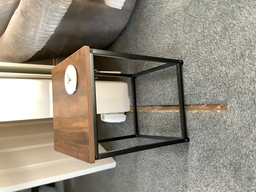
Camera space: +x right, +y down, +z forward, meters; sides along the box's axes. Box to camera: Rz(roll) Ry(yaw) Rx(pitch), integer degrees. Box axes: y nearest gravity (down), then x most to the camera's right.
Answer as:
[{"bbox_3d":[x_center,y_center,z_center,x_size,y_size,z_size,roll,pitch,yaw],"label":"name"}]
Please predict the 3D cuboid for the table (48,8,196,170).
[{"bbox_3d":[-0.030,-0.020,0.900,0.360,0.480,0.470,-6,87,54],"label":"table"}]
